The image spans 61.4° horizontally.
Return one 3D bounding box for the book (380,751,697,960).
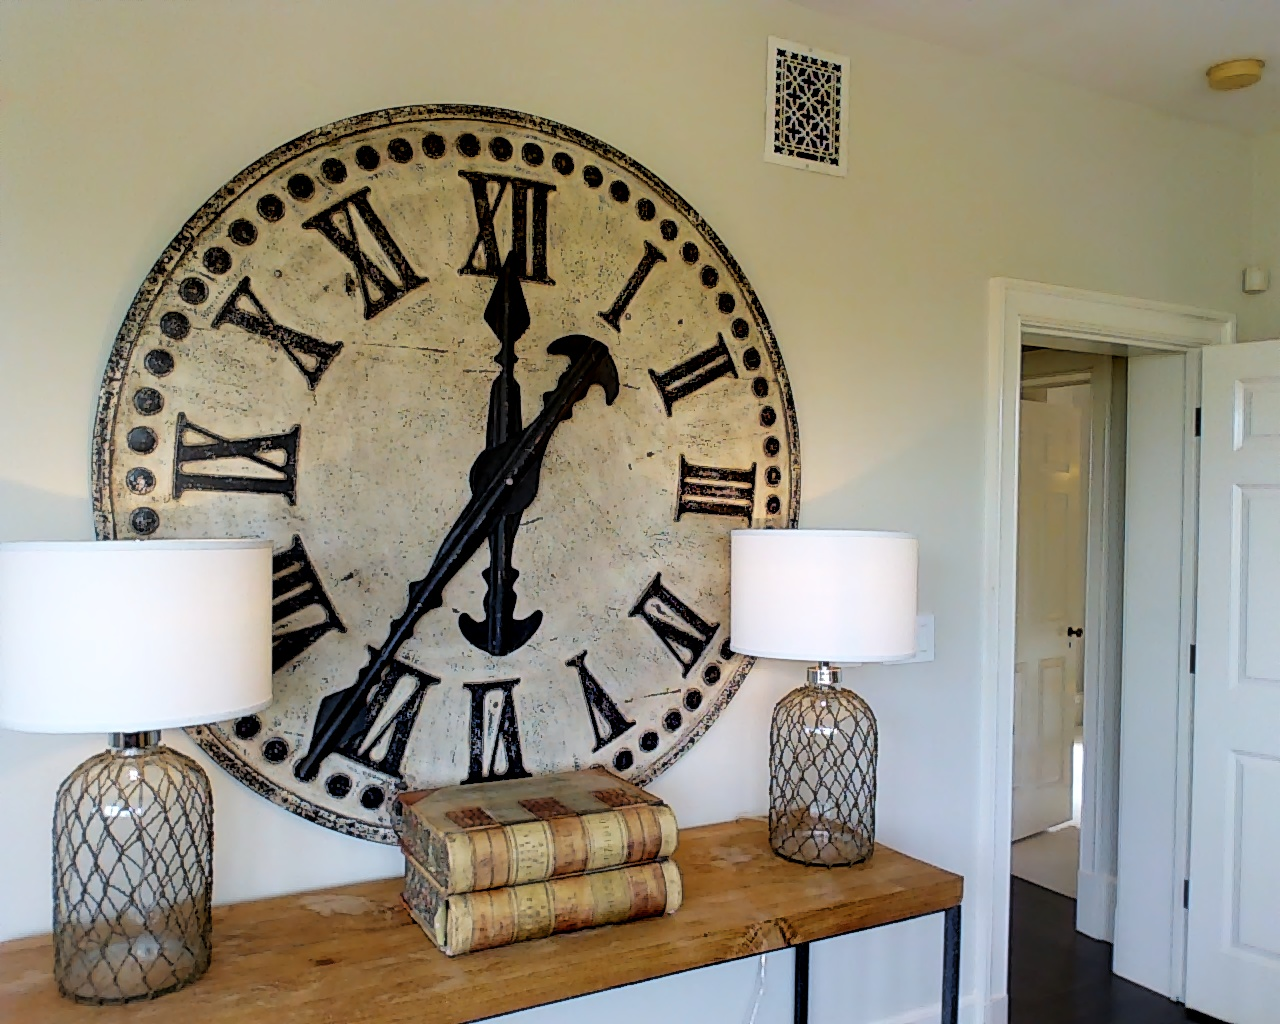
[{"bbox_3d":[-0.200,0.610,2.000,0.460,0.200,0.410,1,1,-28],"label":"book"}]
